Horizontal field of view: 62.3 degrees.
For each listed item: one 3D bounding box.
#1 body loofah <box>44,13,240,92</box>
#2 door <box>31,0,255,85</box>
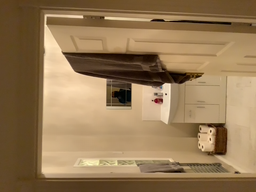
[{"bbox_3d":[0.090,-0.290,1.690,0.610,1.260,0.370,110,161,-78],"label":"body loofah"},{"bbox_3d":[0.480,-0.290,1.520,0.850,1.960,0.190,112,159,-79],"label":"door"}]
